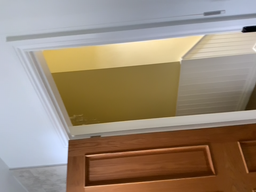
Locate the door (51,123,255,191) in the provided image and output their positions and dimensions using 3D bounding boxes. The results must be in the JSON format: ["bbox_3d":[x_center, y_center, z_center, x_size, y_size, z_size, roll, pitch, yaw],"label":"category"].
[{"bbox_3d":[0.510,0.590,1.370,0.100,2.000,0.760,84,-178,-68],"label":"door"}]
